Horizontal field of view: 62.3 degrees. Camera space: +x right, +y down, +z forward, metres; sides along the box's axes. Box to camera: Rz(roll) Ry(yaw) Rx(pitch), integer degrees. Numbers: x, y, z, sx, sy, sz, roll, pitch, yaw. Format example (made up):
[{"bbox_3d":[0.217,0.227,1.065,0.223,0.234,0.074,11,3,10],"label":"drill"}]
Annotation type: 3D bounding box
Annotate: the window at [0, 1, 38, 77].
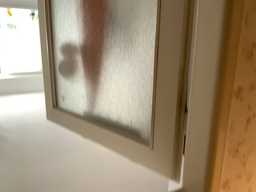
[{"bbox_3d":[-2.370,-0.930,3.500,1.530,1.240,0.140,-6,-165,-27],"label":"window"}]
